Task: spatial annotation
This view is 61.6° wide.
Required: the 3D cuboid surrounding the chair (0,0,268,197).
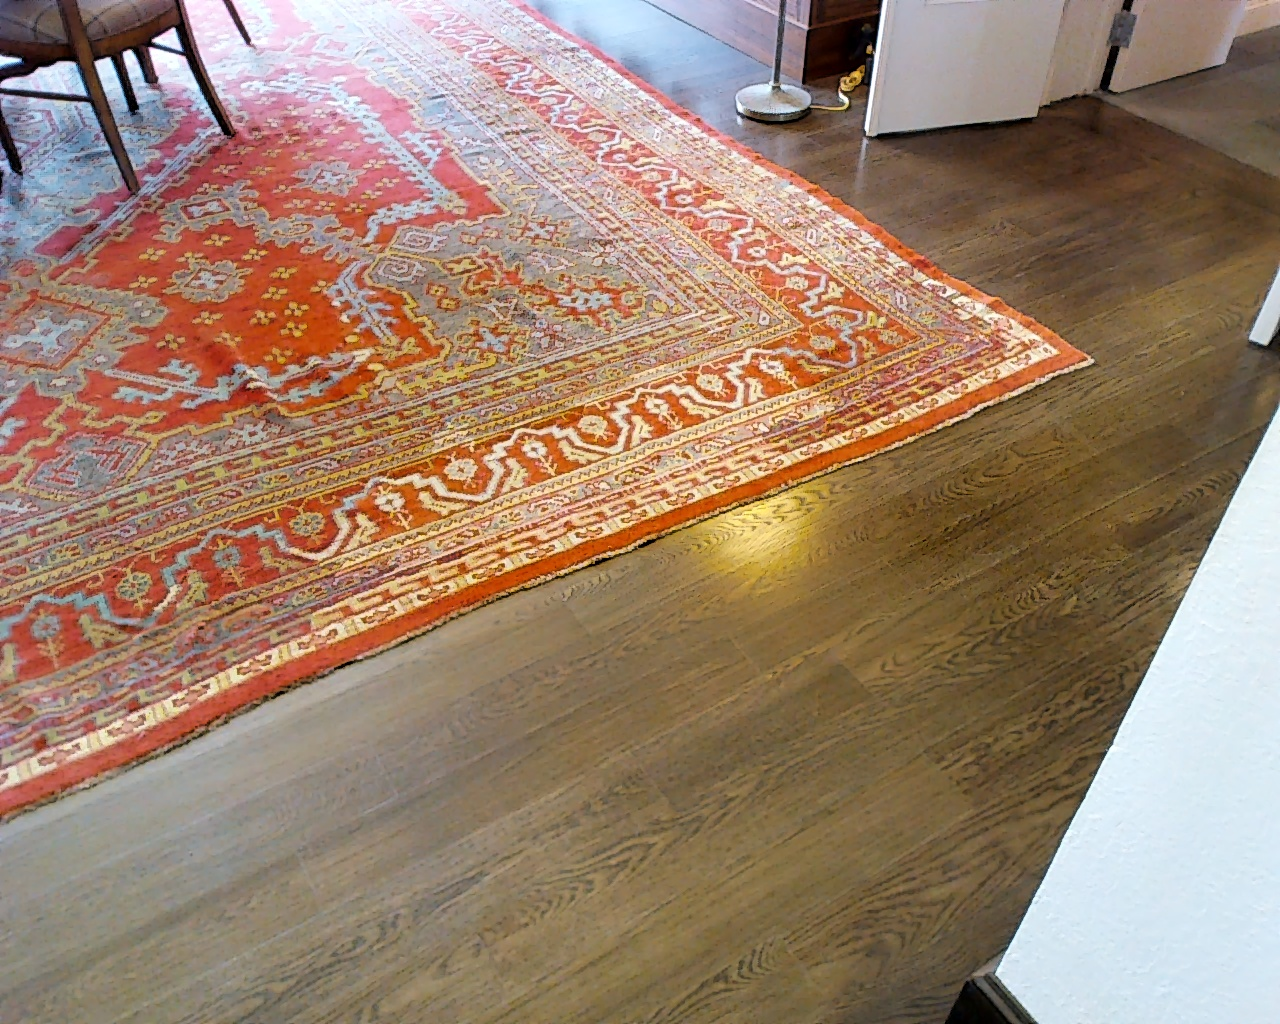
[{"bbox_3d":[-1.630,-1.580,3.160,0.570,1.020,0.580,18,45,18],"label":"chair"}]
